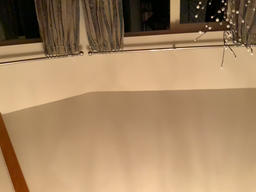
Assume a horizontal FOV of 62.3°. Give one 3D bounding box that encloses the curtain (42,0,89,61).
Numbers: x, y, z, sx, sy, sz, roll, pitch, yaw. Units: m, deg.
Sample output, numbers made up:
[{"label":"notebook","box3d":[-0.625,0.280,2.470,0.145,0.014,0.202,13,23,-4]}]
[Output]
[{"label":"curtain","box3d":[-0.680,-1.120,2.120,0.350,1.470,0.220,-16,-158,-34]}]
